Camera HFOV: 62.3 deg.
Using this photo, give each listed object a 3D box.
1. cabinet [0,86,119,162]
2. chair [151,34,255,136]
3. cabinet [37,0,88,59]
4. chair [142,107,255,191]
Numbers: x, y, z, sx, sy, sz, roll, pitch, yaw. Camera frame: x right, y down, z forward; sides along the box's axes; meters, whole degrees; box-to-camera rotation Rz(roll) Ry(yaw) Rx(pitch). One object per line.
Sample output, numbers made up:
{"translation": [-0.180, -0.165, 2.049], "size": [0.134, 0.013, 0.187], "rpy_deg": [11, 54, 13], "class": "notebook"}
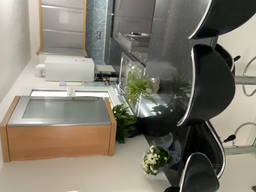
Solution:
{"translation": [-0.580, 0.190, 1.910], "size": [0.760, 0.830, 0.300], "rpy_deg": [-122, 36, -63], "class": "cabinet"}
{"translation": [0.760, -0.080, 1.270], "size": [0.430, 1.110, 0.420], "rpy_deg": [-123, 37, -64], "class": "chair"}
{"translation": [-1.190, -1.420, 3.920], "size": [0.340, 0.830, 1.350], "rpy_deg": [-120, 34, -62], "class": "cabinet"}
{"translation": [0.720, 0.390, 1.410], "size": [0.450, 1.110, 0.480], "rpy_deg": [-123, 37, -64], "class": "chair"}
